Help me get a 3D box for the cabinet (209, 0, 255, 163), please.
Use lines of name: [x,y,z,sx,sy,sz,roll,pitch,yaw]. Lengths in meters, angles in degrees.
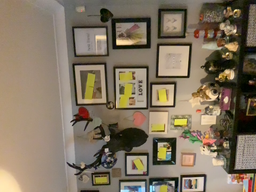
cabinet: [1.230,-0.210,1.870,0.430,0.750,1.500,-98,6,-75]
